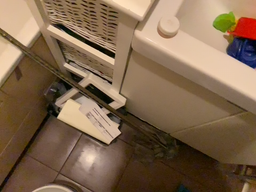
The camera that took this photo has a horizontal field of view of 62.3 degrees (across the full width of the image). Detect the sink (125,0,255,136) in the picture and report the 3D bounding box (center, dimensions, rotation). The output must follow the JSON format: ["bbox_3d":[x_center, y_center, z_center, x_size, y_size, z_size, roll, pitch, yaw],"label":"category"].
[{"bbox_3d":[0.360,-0.120,0.500,0.610,0.170,0.390,29,74,2],"label":"sink"}]
